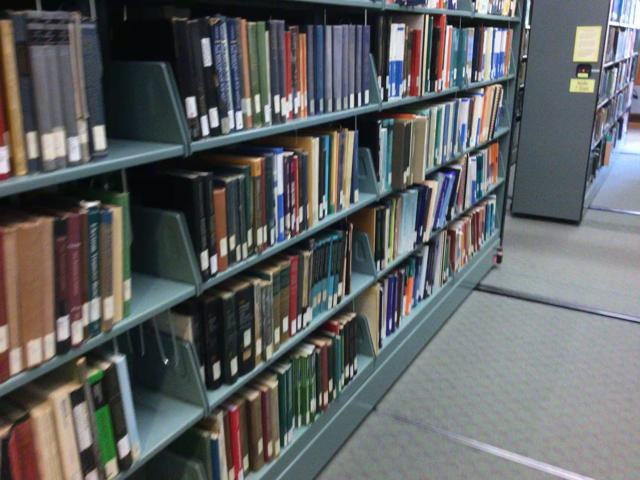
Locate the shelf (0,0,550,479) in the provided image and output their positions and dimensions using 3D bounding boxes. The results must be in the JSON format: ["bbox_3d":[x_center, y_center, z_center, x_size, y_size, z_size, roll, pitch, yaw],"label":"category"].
[{"bbox_3d":[-0.480,-0.560,2.180,1.910,2.580,3.750,8,18,28],"label":"shelf"}]
